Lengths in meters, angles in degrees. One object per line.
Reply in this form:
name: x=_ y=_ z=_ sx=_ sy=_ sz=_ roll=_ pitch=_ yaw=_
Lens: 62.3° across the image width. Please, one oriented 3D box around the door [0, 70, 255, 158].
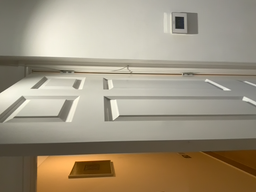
door: x=0.490 y=-0.010 z=1.000 sx=0.880 sy=1.960 sz=0.050 roll=-113 pitch=24 yaw=-72
